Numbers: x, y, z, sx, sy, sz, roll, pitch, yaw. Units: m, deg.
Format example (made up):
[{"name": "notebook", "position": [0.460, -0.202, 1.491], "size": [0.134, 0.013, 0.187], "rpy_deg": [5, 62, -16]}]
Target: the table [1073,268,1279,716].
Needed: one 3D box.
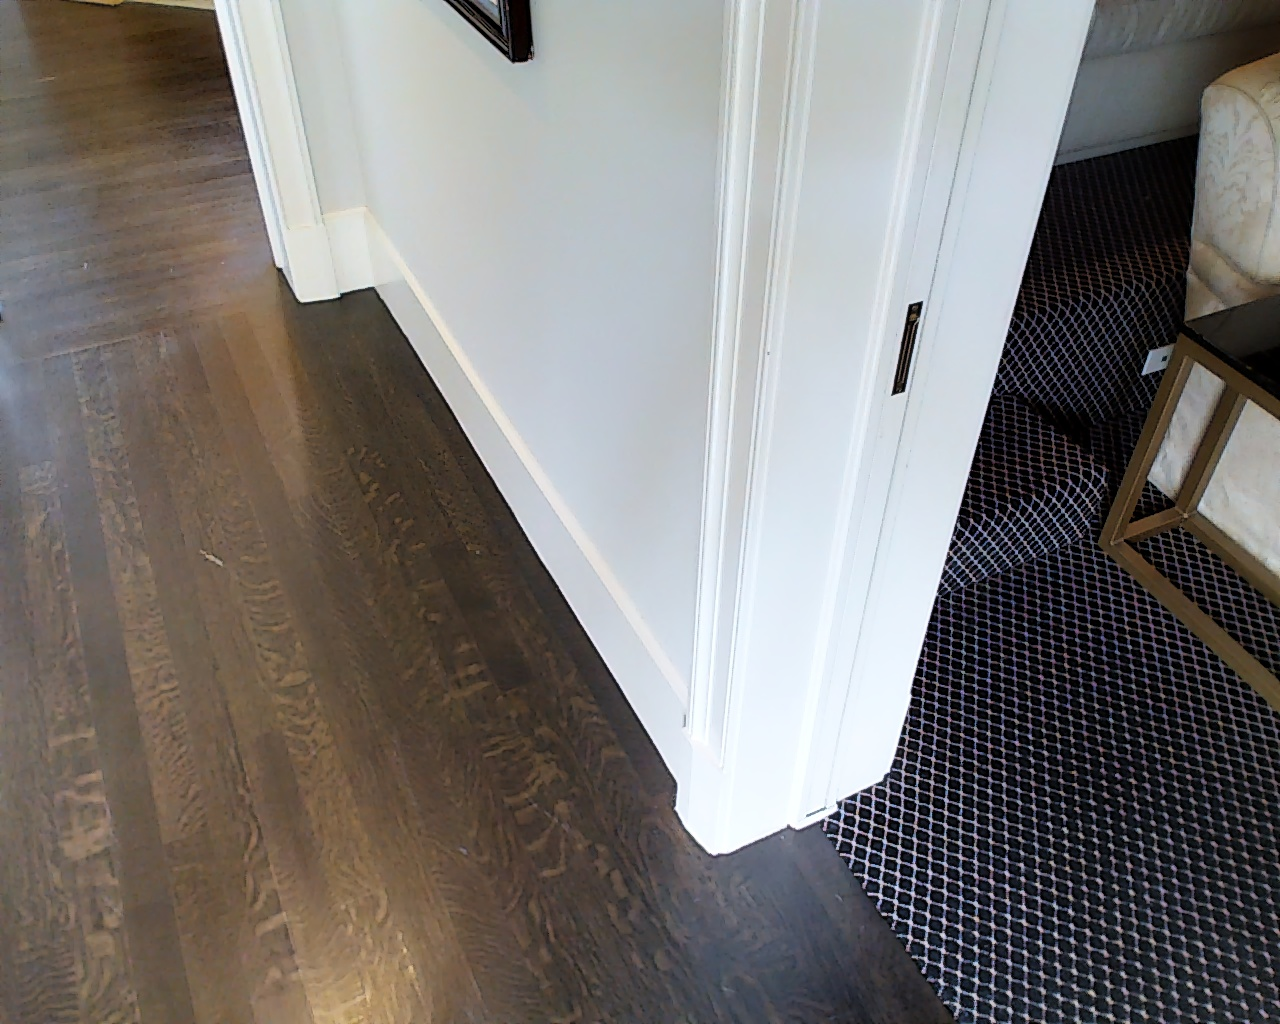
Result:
[{"name": "table", "position": [1.240, 0.040, 1.910], "size": [0.270, 0.580, 0.830], "rpy_deg": [-17, 44, -18]}]
